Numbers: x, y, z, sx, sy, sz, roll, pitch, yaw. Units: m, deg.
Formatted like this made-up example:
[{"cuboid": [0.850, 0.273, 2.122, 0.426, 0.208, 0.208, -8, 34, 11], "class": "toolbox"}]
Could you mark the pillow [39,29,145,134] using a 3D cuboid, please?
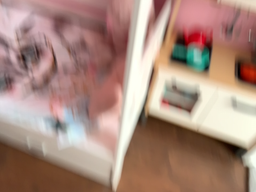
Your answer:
[{"cuboid": [-0.150, -0.090, 1.050, 0.330, 0.220, 0.410, 20, 49, 9], "class": "pillow"}]

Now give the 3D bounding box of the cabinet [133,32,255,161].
[{"cuboid": [0.470, 0.010, 1.390, 0.720, 0.540, 0.390, 19, 49, 8], "class": "cabinet"}]

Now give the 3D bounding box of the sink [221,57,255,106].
[{"cuboid": [0.660, -0.080, 1.180, 0.240, 0.080, 0.250, 19, 49, 8], "class": "sink"}]
